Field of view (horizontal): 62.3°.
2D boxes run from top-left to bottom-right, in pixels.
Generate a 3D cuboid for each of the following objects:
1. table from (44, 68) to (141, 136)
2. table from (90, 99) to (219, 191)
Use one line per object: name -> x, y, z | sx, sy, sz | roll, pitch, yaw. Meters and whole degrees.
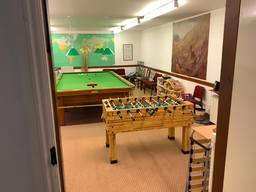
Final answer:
table -> -1.010, -0.110, 5.980 | 1.880, 0.890, 3.590 | -3, 14, -11
table -> 0.250, 0.590, 2.880 | 1.460, 0.830, 0.960 | -2, 14, -8
